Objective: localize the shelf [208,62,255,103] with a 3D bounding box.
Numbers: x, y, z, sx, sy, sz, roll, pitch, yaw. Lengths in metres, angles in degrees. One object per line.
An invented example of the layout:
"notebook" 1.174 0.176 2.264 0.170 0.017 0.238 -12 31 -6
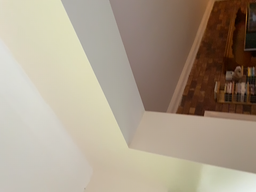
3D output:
"shelf" 1.750 -0.180 2.620 0.620 1.360 0.170 -61 -37 -40
